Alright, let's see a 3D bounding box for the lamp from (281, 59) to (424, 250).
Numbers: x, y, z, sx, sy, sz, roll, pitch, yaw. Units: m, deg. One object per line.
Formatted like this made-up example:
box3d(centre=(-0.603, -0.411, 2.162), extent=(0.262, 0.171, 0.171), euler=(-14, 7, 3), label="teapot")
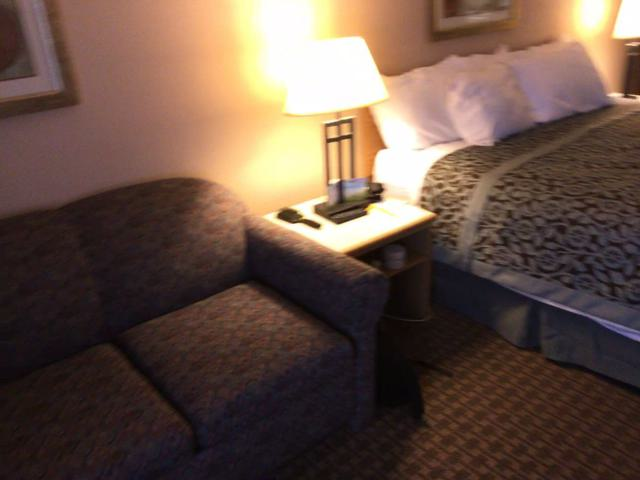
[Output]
box3d(centre=(0.140, -0.350, 2.250), extent=(0.390, 0.630, 0.330), euler=(-22, 27, -35), label="lamp")
